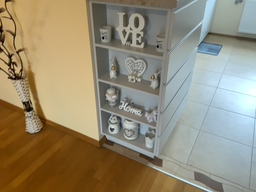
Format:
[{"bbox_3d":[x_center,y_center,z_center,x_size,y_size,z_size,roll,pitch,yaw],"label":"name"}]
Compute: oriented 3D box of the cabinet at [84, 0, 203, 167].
[{"bbox_3d":[0.170,-0.220,1.730,0.510,1.190,0.850,16,36,23],"label":"cabinet"}]
